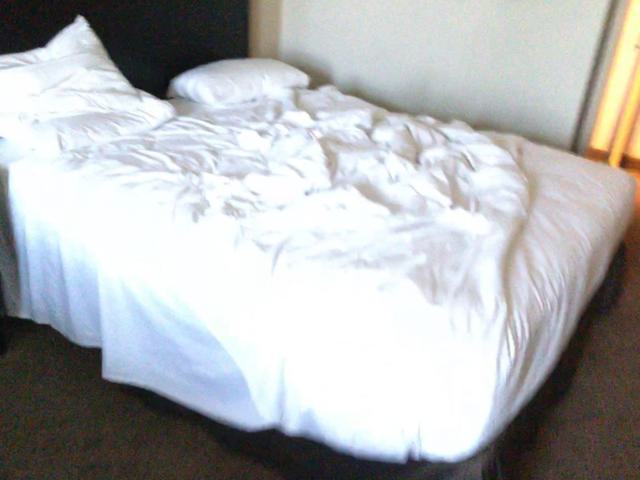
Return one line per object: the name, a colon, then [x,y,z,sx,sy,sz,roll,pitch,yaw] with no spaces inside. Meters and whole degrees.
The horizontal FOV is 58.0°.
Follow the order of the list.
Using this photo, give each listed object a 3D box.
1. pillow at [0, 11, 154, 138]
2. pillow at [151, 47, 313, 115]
pillow: [-0.970,-0.620,2.080,0.290,0.330,0.650,19,31,31]
pillow: [-0.400,-0.770,2.730,0.480,0.170,0.580,19,31,31]
